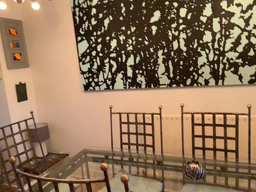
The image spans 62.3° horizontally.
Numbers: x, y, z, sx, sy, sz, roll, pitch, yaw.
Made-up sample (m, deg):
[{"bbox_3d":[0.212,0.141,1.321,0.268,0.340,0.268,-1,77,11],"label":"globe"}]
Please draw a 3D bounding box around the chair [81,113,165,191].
[{"bbox_3d":[0.010,0.680,1.600,0.430,1.020,0.390,-1,11,25],"label":"chair"}]
